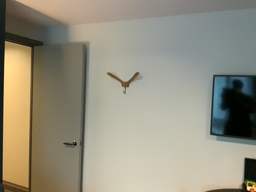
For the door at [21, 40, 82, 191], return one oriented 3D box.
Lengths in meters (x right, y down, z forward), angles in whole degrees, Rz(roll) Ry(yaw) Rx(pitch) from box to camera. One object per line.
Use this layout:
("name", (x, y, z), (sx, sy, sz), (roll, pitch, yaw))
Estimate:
("door", (-0.970, 0.570, 2.600), (0.810, 2.450, 0.040), (4, 2, 22))
